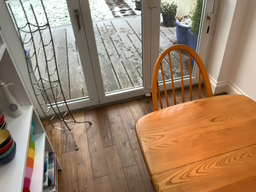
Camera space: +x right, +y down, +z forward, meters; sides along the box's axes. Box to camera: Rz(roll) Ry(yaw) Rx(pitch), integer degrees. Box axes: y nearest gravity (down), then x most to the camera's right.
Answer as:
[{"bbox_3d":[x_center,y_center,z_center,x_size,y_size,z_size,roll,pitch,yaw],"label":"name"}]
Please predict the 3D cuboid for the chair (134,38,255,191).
[{"bbox_3d":[0.340,0.230,1.300,0.440,0.960,0.480,-13,40,-11],"label":"chair"}]
